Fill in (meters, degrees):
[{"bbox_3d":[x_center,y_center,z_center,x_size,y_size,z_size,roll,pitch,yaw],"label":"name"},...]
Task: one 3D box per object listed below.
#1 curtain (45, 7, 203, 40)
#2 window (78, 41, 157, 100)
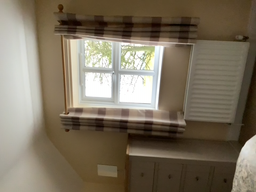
[{"bbox_3d":[-0.050,-0.700,2.060,0.180,1.460,0.230,-76,-11,-75],"label":"curtain"},{"bbox_3d":[-0.140,-0.300,2.580,0.020,0.930,0.680,-78,-9,-71],"label":"window"}]
